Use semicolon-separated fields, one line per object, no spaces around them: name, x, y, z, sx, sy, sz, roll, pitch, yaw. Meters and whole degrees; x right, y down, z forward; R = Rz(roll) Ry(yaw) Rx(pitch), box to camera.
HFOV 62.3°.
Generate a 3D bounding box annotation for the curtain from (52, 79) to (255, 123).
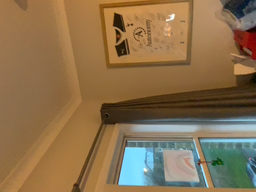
curtain;0.420;0.040;2.220;0.610;2.260;0.170;-75;-18;-65
